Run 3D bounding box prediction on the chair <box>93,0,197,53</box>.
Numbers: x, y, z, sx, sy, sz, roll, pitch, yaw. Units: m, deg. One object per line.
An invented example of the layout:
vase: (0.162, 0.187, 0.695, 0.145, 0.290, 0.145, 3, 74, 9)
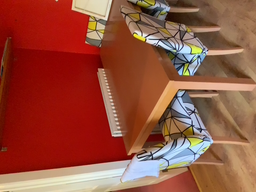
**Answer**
chair: (0.150, -0.810, 2.230, 0.490, 0.890, 0.420, 112, 149, -42)
